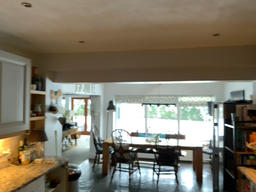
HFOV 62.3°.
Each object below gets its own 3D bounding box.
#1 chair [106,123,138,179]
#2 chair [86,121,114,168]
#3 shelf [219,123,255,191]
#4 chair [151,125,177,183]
[{"bbox_3d":[-0.120,1.250,5.010,0.550,1.120,0.670,0,-1,18],"label":"chair"},{"bbox_3d":[-0.740,1.270,5.740,0.630,1.130,0.540,0,-1,10],"label":"chair"},{"bbox_3d":[1.580,1.110,2.980,0.440,1.400,0.490,0,-1,10],"label":"shelf"},{"bbox_3d":[0.810,1.260,4.820,0.550,1.130,0.650,0,-1,7],"label":"chair"}]
